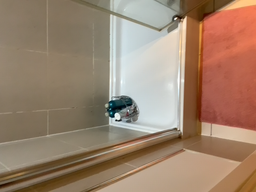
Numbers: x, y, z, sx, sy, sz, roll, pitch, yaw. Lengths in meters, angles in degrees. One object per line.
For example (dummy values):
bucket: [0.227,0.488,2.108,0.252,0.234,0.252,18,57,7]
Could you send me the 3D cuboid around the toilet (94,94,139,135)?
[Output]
toilet: [-0.100,0.150,1.780,0.230,0.220,0.230,48,121,30]
